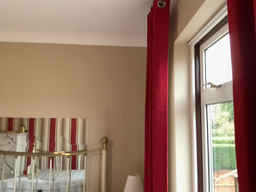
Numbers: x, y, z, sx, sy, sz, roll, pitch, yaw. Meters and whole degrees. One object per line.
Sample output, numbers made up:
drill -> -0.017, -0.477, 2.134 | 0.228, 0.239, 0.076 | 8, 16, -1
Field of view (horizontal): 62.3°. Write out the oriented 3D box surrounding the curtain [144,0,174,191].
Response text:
curtain -> 0.220, 0.200, 1.640 | 0.180, 1.940, 0.510 | 0, -6, 3
